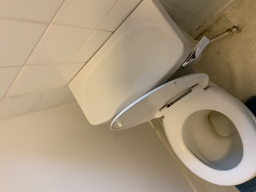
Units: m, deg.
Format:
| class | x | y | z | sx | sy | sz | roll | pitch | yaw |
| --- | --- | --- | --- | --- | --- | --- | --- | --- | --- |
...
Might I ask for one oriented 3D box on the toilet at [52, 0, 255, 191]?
| class | x | y | z | sx | sy | sz | roll | pitch | yaw |
| --- | --- | --- | --- | --- | --- | --- | --- | --- | --- |
| toilet | 0.280 | 0.070 | 0.940 | 0.460 | 0.820 | 0.710 | -40 | 78 | 31 |
